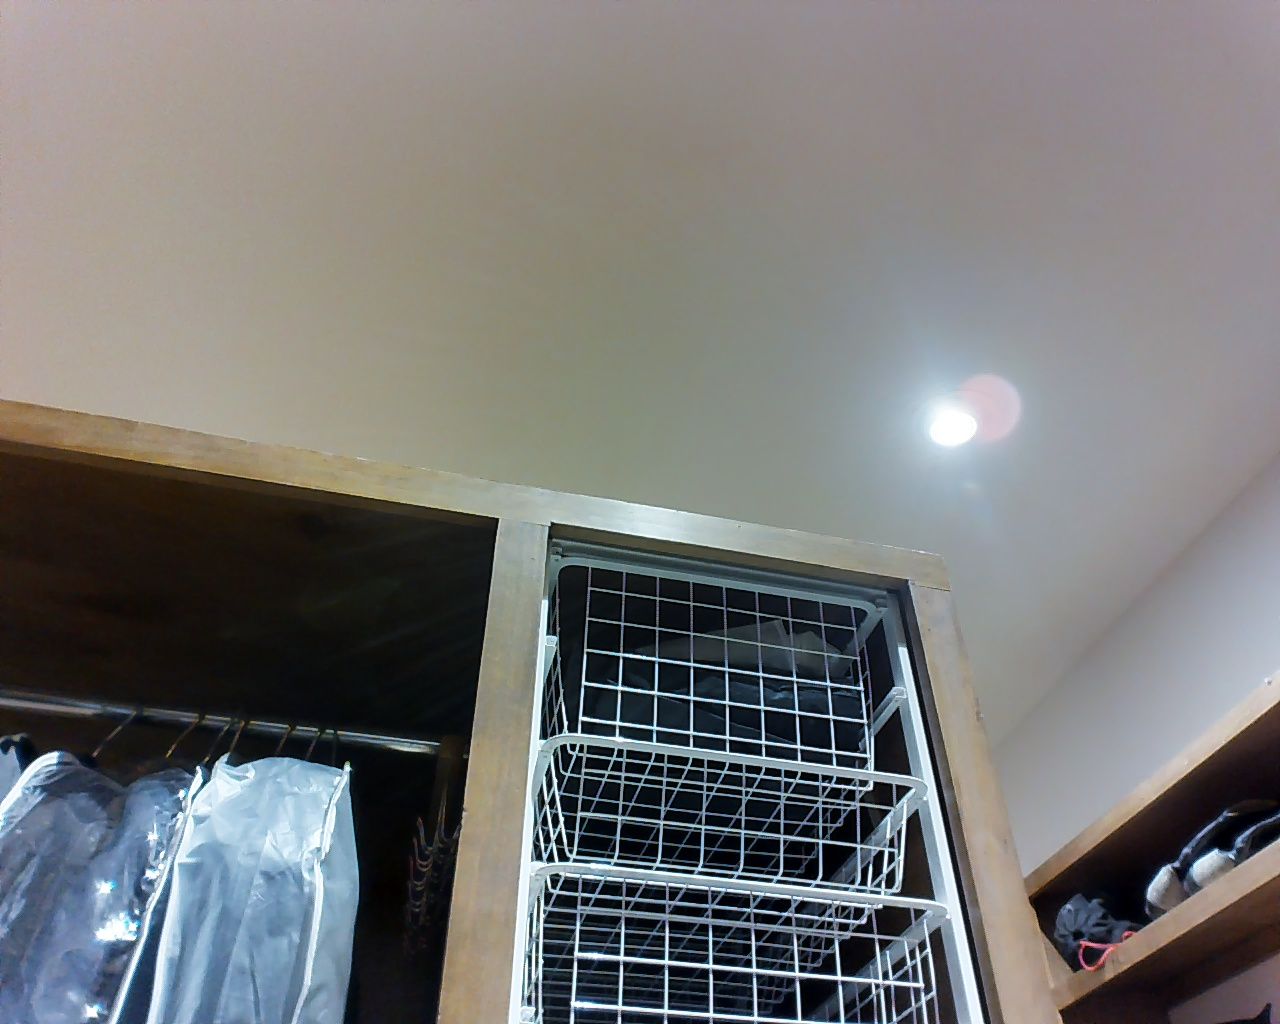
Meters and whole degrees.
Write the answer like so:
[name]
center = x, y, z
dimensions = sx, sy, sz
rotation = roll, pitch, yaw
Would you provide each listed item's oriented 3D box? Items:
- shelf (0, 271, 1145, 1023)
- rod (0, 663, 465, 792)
[shelf]
center = -0.280, 0.860, 0.490
dimensions = 1.129, 2.141, 0.650
rotation = 11, -44, -12
[rod]
center = -0.750, 0.160, 1.000
dimensions = 1.159, 0.060, 0.040
rotation = 9, -44, -10
